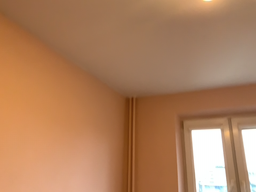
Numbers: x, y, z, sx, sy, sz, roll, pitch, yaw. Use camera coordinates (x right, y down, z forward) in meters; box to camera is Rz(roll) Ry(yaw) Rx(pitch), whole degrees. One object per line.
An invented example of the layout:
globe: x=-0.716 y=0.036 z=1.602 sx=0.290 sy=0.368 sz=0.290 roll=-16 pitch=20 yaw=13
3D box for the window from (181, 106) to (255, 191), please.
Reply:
window: x=1.280 y=0.880 z=2.170 sx=1.330 sy=1.530 sz=0.210 roll=-8 pitch=-21 yaw=24
